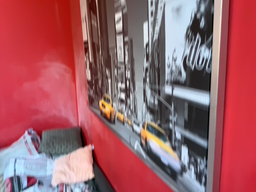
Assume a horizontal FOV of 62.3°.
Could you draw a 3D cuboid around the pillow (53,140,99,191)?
[{"bbox_3d":[-0.470,0.610,1.840,0.120,0.350,0.480,46,-13,-16],"label":"pillow"}]
